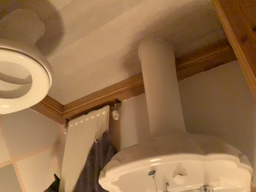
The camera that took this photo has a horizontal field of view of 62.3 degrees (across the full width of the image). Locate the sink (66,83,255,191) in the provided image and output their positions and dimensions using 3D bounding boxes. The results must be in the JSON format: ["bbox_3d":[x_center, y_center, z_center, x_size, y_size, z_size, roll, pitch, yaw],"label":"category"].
[{"bbox_3d":[0.160,0.260,0.860,0.600,0.200,0.490,-21,140,24],"label":"sink"}]
